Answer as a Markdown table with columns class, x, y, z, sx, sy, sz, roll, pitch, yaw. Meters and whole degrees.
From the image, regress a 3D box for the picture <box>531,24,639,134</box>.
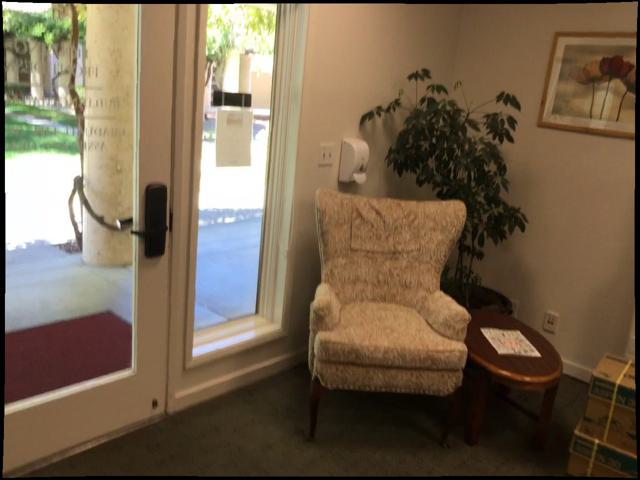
| class | x | y | z | sx | sy | sz | roll | pitch | yaw |
| --- | --- | --- | --- | --- | --- | --- | --- | --- | --- |
| picture | 1.538 | -0.831 | 2.990 | 0.770 | 0.510 | 0.140 | 19 | 21 | 39 |

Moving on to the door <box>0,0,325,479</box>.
| class | x | y | z | sx | sy | sz | roll | pitch | yaw |
| --- | --- | --- | --- | --- | --- | --- | --- | --- | --- |
| door | -0.709 | -0.160 | 2.330 | 0.250 | 1.982 | 1.679 | 19 | 21 | 39 |

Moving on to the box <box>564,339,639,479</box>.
| class | x | y | z | sx | sy | sz | roll | pitch | yaw |
| --- | --- | --- | --- | --- | --- | --- | --- | --- | --- |
| box | 1.309 | 0.721 | 2.260 | 0.510 | 0.440 | 0.310 | 19 | 21 | 39 |
